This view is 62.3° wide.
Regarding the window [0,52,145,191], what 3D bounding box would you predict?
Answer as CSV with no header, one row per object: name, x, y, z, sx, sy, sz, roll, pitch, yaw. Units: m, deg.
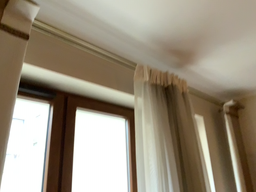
window,-0.450,0.570,1.260,1.330,1.540,0.170,13,-25,-37
